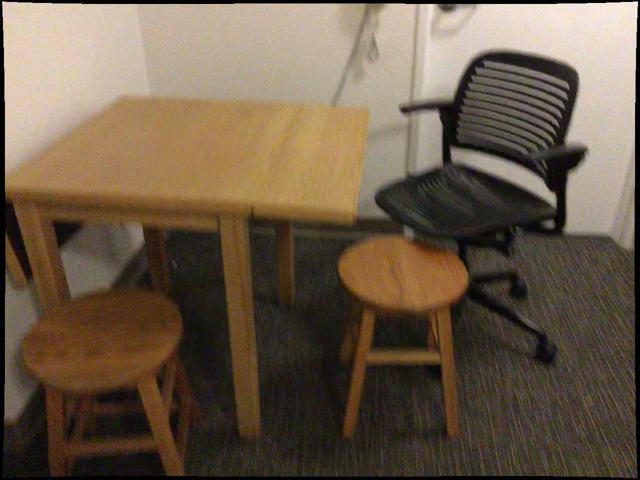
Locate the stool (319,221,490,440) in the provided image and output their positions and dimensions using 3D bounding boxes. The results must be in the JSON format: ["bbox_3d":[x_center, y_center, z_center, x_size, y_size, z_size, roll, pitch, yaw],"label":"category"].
[{"bbox_3d":[0.230,0.250,1.690,0.410,0.450,0.410,2,32,6],"label":"stool"}]

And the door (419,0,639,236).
[{"bbox_3d":[0.899,-0.901,2.130,0.919,1.931,0.160,2,32,6],"label":"door"}]

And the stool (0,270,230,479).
[{"bbox_3d":[-0.519,0.400,1.480,0.430,0.460,0.440,2,32,6],"label":"stool"}]

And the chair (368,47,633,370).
[{"bbox_3d":[0.490,-0.120,1.900,0.619,0.861,0.590,2,32,6],"label":"chair"}]
